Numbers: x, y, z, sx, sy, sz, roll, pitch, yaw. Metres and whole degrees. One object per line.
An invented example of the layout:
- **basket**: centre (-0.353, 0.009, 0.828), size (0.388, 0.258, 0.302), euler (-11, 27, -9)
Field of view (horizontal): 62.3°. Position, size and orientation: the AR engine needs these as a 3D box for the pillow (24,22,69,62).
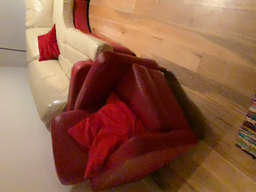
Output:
- **pillow**: centre (-1.200, -0.810, 3.140), size (0.120, 0.370, 0.550), euler (80, -146, -62)
